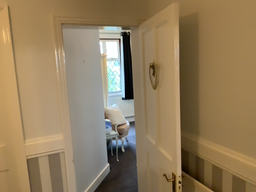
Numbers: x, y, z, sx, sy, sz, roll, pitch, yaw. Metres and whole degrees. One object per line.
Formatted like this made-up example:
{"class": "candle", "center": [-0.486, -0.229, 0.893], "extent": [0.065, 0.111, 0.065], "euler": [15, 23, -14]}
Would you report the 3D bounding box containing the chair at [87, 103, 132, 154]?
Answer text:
{"class": "chair", "center": [-0.340, 0.630, 4.280], "extent": [0.750, 0.850, 0.680], "euler": [-2, 8, 6]}
